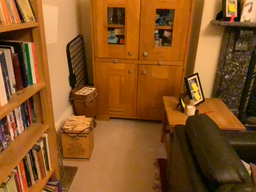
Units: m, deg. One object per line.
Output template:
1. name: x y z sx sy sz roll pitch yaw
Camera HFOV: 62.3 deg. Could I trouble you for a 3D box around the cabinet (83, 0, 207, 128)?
1. cabinet: 0.160 -0.470 2.670 1.260 1.580 0.530 4 23 5
